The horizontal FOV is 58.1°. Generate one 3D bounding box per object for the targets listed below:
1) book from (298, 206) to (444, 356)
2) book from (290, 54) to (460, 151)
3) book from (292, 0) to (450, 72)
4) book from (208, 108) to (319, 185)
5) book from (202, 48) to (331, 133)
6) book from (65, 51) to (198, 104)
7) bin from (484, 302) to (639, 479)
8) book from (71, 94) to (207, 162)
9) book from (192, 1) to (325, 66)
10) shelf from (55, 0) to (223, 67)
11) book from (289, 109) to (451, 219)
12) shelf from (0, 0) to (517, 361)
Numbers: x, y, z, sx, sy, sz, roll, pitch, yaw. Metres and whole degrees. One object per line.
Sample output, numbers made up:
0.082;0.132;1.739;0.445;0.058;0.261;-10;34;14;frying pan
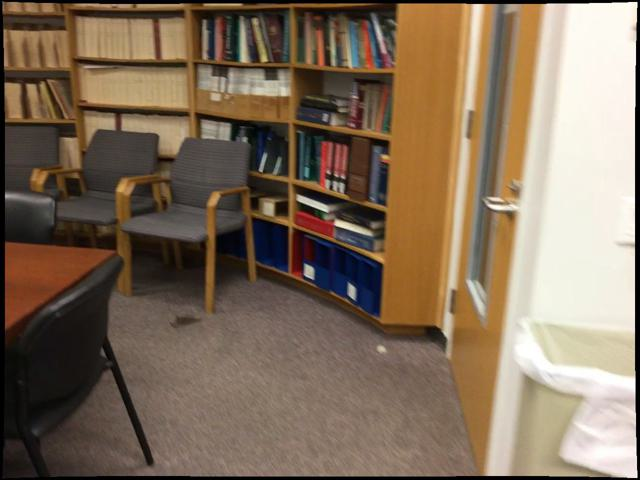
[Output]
0.249;0.190;3.180;0.330;0.531;0.739;-14;28;-38;book
0.259;-0.742;3.000;0.459;0.361;0.739;-14;28;-38;book
0.229;-1.083;2.950;0.359;0.341;0.770;-12;27;-35;book
-0.359;-0.592;3.550;0.659;0.321;0.270;18;26;32;book
-0.329;-0.902;3.400;0.739;0.381;0.300;19;26;34;book
-1.207;-1.053;3.720;0.798;0.261;0.160;4;22;2;book
0.758;0.602;1.490;0.499;0.701;0.370;11;27;8;bin
-1.197;-0.762;3.850;0.798;0.311;0.340;10;22;16;book
-0.369;-1.223;3.400;0.709;0.301;0.340;16;25;28;book
-1.137;-1.354;3.670;0.918;0.381;0.440;10;22;15;shelf
0.239;-0.441;3.110;0.389;0.381;0.799;-14;28;-38;book
-1.616;-0.962;3.300;4.868;2.395;1.531;4;22;2;shelf
